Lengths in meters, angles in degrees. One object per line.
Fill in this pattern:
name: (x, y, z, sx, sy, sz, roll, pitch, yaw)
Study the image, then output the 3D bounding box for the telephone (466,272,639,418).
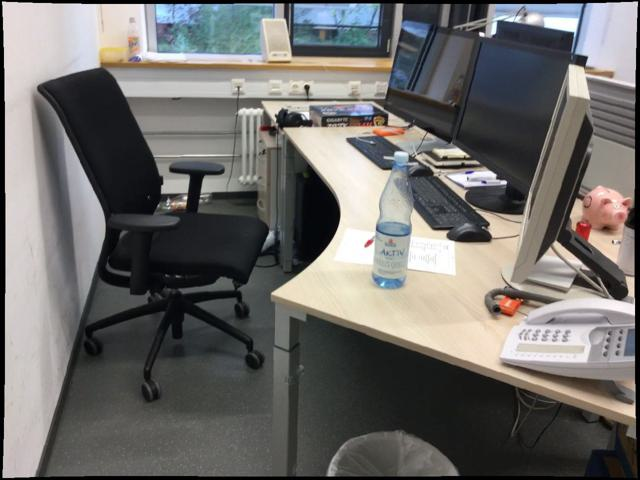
telephone: (0.470, 0.180, 1.080, 0.280, 0.110, 0.270, -3, 25, -13)

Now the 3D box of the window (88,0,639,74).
window: (0.360, -1.622, 3.610, 3.347, 0.991, 0.740, -3, 25, -13)
